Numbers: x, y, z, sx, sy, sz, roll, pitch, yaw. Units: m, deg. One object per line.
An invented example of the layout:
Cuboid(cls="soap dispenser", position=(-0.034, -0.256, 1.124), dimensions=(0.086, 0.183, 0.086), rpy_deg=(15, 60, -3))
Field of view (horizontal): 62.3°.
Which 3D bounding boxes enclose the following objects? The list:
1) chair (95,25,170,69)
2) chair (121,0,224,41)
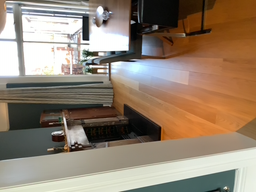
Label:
Cuboid(cls="chair", position=(0.040, -0.650, 2.890), dimensions=(0.430, 0.910, 0.510), rpy_deg=(-148, 58, -66))
Cuboid(cls="chair", position=(0.400, -0.880, 2.060), dimensions=(0.590, 0.790, 0.600), rpy_deg=(-152, 62, -67))
